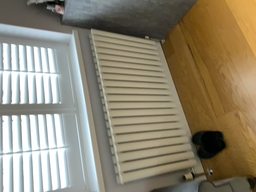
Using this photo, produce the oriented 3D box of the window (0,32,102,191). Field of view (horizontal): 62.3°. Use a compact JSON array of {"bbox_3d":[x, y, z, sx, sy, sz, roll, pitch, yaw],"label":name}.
[{"bbox_3d":[-0.830,0.060,1.300,0.060,1.240,1.100,-41,55,50],"label":"window"}]
